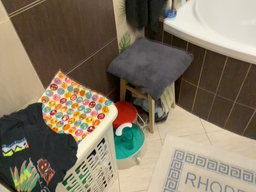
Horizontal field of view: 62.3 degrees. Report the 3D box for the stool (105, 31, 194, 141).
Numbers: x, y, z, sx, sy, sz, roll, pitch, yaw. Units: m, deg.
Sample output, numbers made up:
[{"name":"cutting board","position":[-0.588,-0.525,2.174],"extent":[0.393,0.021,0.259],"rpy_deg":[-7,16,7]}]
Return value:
[{"name":"stool","position":[0.140,-0.060,1.360],"extent":[0.350,0.510,0.350],"rpy_deg":[29,56,28]}]
